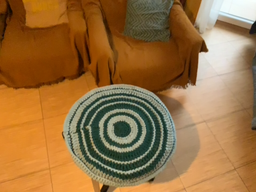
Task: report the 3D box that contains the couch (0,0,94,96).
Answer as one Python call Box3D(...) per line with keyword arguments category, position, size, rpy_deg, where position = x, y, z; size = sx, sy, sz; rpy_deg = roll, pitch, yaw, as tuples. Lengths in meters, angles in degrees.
Box3D(category="couch", position=(-0.780, -0.680, 1.760), size=(0.770, 0.790, 0.960), rpy_deg=(-11, 55, -12))

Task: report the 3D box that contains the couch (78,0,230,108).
Box3D(category="couch", position=(0.070, -0.560, 1.740), size=(0.810, 0.780, 0.900), rpy_deg=(-11, 55, -12))

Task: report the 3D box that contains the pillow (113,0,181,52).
Box3D(category="pillow", position=(0.150, -0.620, 1.750), size=(0.360, 0.410, 0.140), rpy_deg=(41, 49, -22))

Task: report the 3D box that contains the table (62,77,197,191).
Box3D(category="table", position=(-0.040, 0.300, 1.250), size=(0.540, 0.520, 0.530), rpy_deg=(-11, 55, -12))
